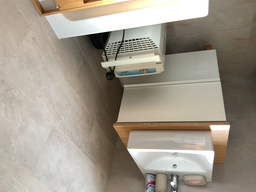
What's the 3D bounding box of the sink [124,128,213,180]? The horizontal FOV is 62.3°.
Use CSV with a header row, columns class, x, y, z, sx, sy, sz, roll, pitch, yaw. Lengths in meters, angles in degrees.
class,x,y,z,sx,sy,sz,roll,pitch,yaw
sink,0.260,0.360,1.290,0.450,0.120,0.450,-3,141,17
